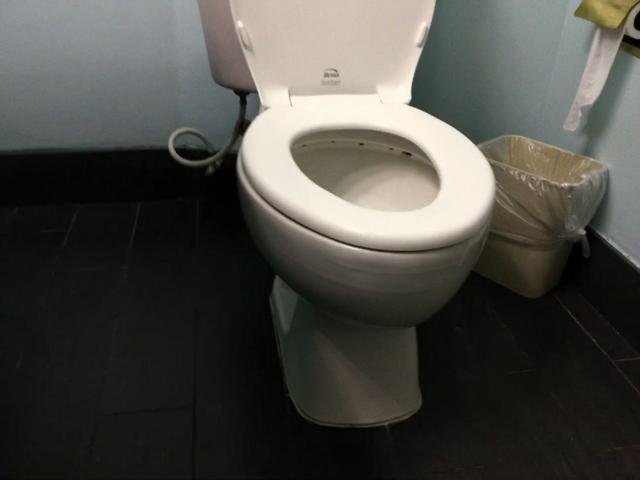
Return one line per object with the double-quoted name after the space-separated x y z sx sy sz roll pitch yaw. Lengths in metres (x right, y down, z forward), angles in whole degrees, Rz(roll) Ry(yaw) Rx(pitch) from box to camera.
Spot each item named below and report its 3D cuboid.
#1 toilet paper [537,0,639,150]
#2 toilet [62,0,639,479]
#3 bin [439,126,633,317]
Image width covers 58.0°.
0.500 -0.330 1.060 0.090 0.290 0.140 -5 30 -9 "toilet paper"
0.020 -0.220 0.950 0.590 0.840 0.820 -5 30 -9 "toilet"
0.420 -0.050 1.200 0.230 0.280 0.280 -5 30 -9 "bin"
